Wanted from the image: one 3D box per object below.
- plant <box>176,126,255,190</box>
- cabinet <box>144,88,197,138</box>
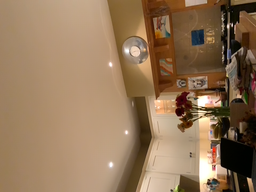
[{"bbox_3d":[0.630,0.430,1.530,0.260,0.510,0.310,-56,-40,-58],"label":"plant"},{"bbox_3d":[0.890,0.340,4.280,0.390,0.940,0.910,-59,-37,-56],"label":"cabinet"}]
